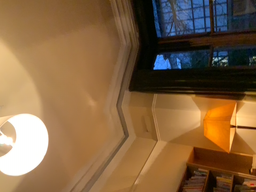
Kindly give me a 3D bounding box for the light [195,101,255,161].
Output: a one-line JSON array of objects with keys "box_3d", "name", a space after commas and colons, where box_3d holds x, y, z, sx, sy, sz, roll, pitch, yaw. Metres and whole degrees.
[{"box_3d": [1.890, 0.510, 2.930, 0.520, 1.750, 0.590, -42, -52, -50], "name": "light"}]
